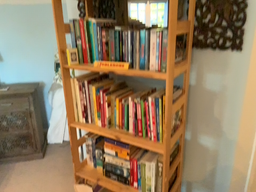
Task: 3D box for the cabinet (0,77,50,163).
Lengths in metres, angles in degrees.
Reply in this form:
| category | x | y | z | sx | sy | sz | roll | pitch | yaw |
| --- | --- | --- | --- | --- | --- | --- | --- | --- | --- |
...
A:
| category | x | y | z | sx | sy | sz | roll | pitch | yaw |
| --- | --- | --- | --- | --- | --- | --- | --- | --- | --- |
| cabinet | -1.290 | 0.260 | 2.490 | 0.570 | 0.800 | 0.510 | -7 | 21 | -15 |
